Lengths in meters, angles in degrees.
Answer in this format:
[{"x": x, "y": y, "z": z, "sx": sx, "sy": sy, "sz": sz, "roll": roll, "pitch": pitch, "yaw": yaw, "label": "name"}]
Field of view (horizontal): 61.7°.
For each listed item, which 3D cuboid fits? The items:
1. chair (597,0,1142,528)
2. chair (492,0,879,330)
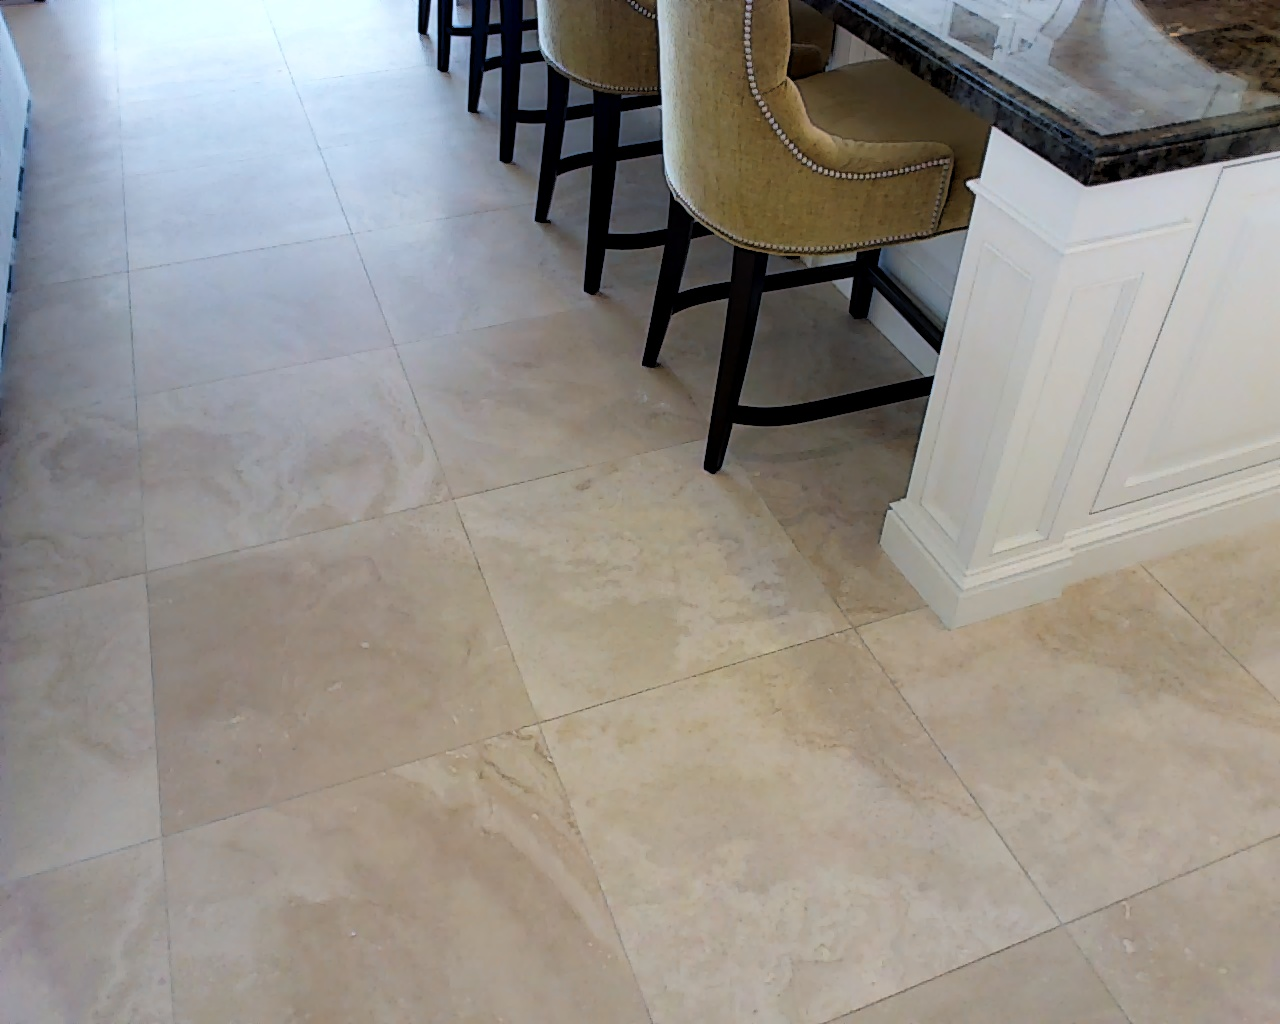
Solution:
[{"x": 0.370, "y": -0.660, "z": 2.180, "sx": 0.720, "sy": 1.070, "sz": 0.670, "roll": -14, "pitch": 44, "yaw": -15, "label": "chair"}, {"x": 0.080, "y": -1.170, "z": 2.730, "sx": 0.740, "sy": 1.070, "sz": 0.690, "roll": -15, "pitch": 44, "yaw": -16, "label": "chair"}]
